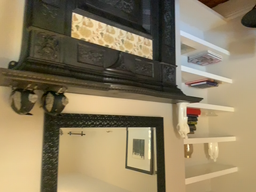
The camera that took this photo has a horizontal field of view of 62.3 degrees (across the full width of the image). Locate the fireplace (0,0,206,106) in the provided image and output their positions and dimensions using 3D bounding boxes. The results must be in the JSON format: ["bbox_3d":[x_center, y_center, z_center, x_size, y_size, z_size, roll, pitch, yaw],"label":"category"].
[{"bbox_3d":[-0.070,-0.610,1.360,1.270,1.240,0.430,7,170,-38],"label":"fireplace"}]
